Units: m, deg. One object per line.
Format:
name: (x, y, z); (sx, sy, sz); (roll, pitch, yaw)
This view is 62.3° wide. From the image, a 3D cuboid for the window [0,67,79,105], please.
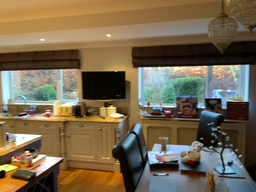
window: (-1.990, -0.220, 4.710); (1.860, 0.800, 0.160); (1, 5, 12)
